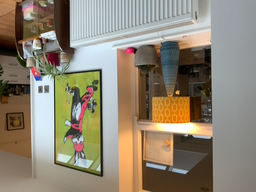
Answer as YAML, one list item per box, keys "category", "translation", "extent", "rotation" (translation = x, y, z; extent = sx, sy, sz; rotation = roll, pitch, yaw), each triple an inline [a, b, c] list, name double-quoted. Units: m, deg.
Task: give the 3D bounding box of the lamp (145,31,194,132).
- category: "lamp"
  translation: [0.330, -0.100, 1.660]
  extent: [0.280, 0.700, 0.290]
  rotation: [0, -179, 35]
